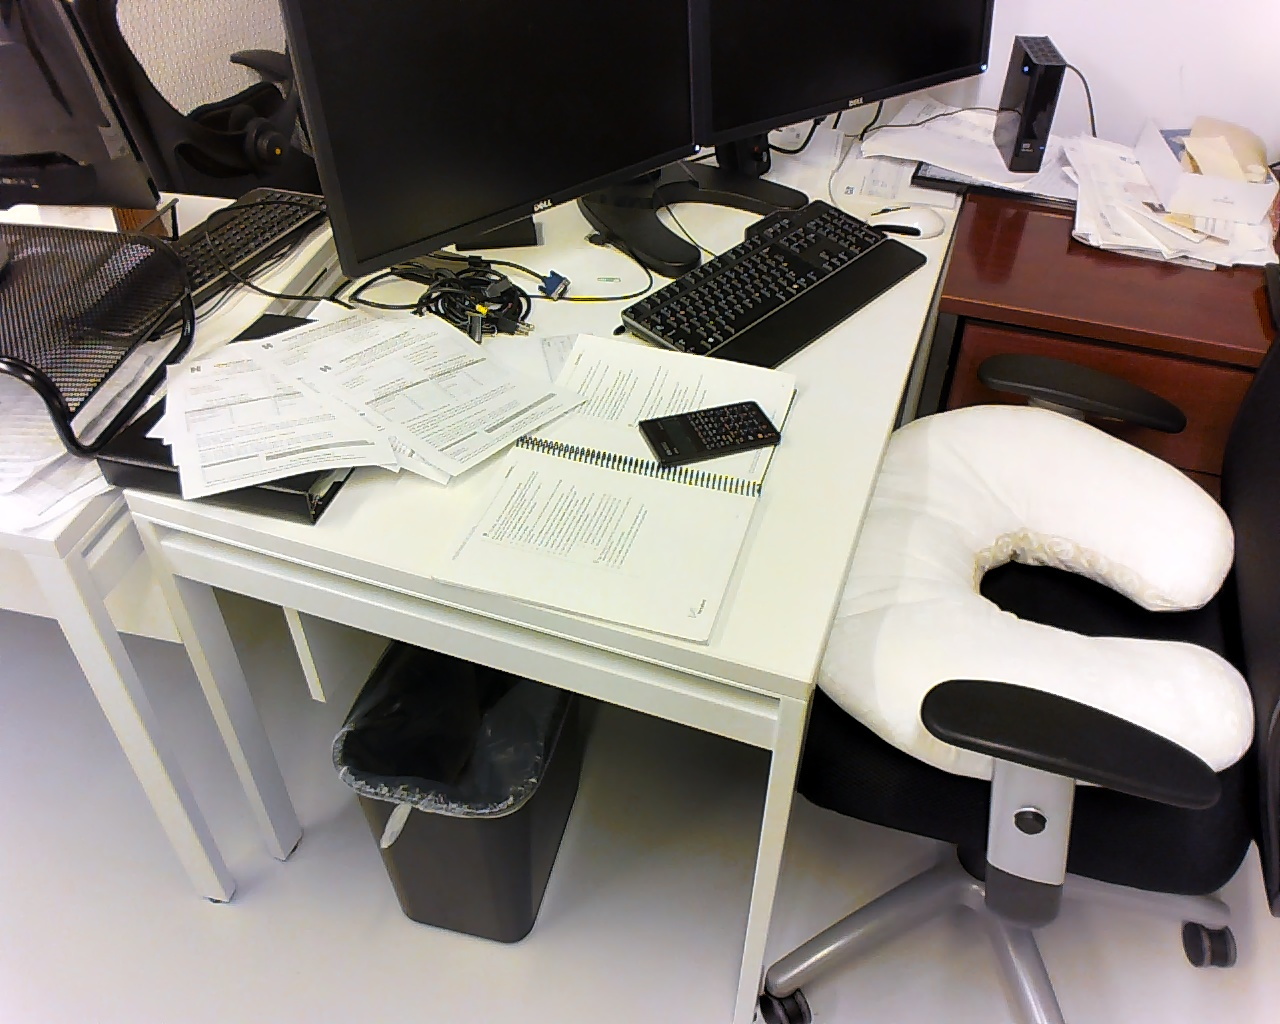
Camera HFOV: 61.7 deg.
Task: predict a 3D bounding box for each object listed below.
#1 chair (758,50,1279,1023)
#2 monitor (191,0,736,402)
[{"bbox_3d":[0.540,0.200,1.170,0.620,1.100,0.630,14,43,15],"label":"chair"},{"bbox_3d":[-0.170,-0.640,1.260,0.210,0.800,0.660,31,50,30],"label":"monitor"}]
